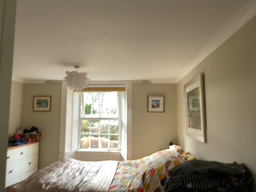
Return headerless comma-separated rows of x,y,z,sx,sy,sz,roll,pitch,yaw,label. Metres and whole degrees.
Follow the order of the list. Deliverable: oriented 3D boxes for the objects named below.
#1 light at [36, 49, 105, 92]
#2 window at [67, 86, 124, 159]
-0.770,-0.330,2.930,0.370,0.820,0.500,49,-139,-79,light
-0.720,0.580,4.810,0.260,1.210,1.590,40,-130,-82,window
